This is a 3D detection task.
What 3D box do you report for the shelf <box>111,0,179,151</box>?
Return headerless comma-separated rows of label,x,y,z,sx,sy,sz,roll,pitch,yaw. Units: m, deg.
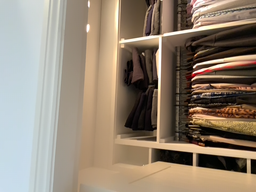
shelf,0.190,-0.790,1.840,0.490,0.390,2.380,10,-99,-62
